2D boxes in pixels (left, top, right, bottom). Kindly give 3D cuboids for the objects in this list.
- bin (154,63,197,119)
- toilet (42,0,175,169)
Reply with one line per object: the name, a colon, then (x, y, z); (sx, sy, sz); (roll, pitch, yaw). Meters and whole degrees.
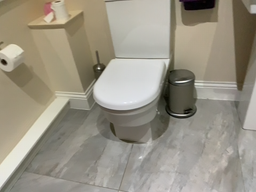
bin: (0.330, -0.040, 1.470); (0.240, 0.270, 0.240); (7, 39, 18)
toilet: (0.010, -0.140, 1.230); (0.430, 0.800, 0.670); (5, 38, 16)
